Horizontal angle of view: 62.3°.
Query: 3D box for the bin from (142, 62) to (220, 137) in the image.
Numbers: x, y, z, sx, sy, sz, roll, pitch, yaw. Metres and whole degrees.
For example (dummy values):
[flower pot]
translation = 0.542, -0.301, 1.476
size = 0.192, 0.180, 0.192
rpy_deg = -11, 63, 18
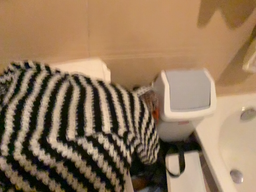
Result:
[bin]
translation = 0.190, 0.020, 0.850
size = 0.190, 0.250, 0.170
rpy_deg = -4, 52, -13
